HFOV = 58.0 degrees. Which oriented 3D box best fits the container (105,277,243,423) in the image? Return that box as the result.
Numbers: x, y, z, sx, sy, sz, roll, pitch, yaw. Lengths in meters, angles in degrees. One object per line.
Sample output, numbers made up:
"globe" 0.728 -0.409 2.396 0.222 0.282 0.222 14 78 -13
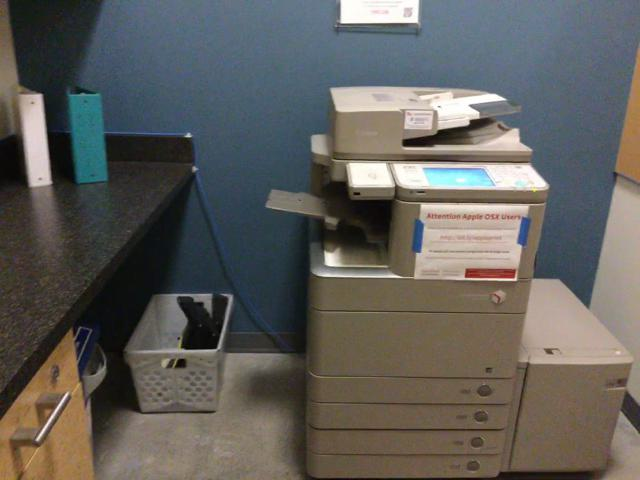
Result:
"container" -0.540 0.410 2.270 0.420 0.390 0.480 1 15 -2
